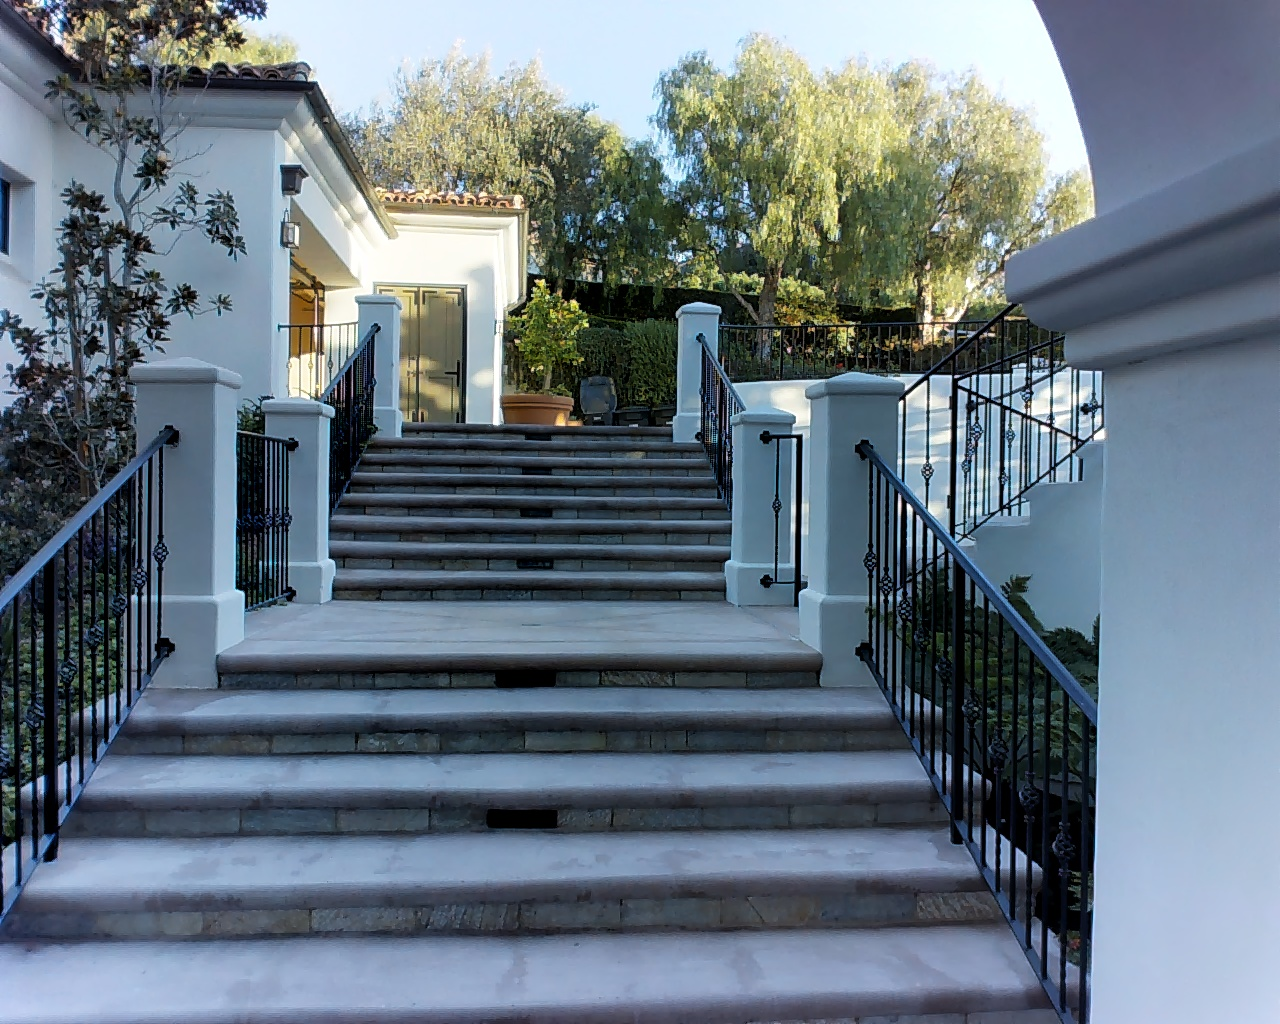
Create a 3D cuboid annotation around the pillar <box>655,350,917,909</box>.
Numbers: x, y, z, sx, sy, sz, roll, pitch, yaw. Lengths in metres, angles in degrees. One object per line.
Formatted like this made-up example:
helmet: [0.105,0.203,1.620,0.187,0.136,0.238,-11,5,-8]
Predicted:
pillar: [0.600,0.470,4.810,0.930,2.221,1.000,1,0,-6]
